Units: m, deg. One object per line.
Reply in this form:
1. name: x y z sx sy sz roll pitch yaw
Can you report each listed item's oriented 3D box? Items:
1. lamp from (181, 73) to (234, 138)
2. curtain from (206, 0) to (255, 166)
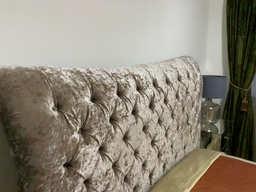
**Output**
1. lamp: 0.870 0.070 2.330 0.400 0.600 0.400 8 14 37
2. curtain: 1.380 -0.280 2.560 0.680 2.220 0.150 8 15 38
